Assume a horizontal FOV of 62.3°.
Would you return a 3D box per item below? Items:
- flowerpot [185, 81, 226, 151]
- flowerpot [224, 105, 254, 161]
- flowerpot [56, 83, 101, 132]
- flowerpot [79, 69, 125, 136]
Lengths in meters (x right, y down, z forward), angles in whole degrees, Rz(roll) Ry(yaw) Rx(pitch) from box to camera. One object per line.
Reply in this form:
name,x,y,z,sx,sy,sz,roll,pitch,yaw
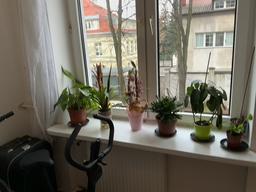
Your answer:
flowerpot,0.540,0.130,1.500,0.240,0.430,0.220,2,16,19
flowerpot,0.750,0.240,1.460,0.150,0.270,0.280,4,16,24
flowerpot,-0.440,0.090,1.940,0.260,0.360,0.270,3,16,23
flowerpot,-0.210,0.040,1.820,0.260,0.510,0.240,4,16,25
